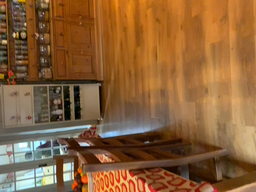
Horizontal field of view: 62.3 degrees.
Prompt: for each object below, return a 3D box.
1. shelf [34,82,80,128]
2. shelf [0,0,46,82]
[{"bbox_3d":[-1.270,0.140,3.800,0.320,0.730,0.750,180,88,-64],"label":"shelf"},{"bbox_3d":[-1.950,-1.060,3.500,0.270,1.040,1.620,180,88,-64],"label":"shelf"}]
